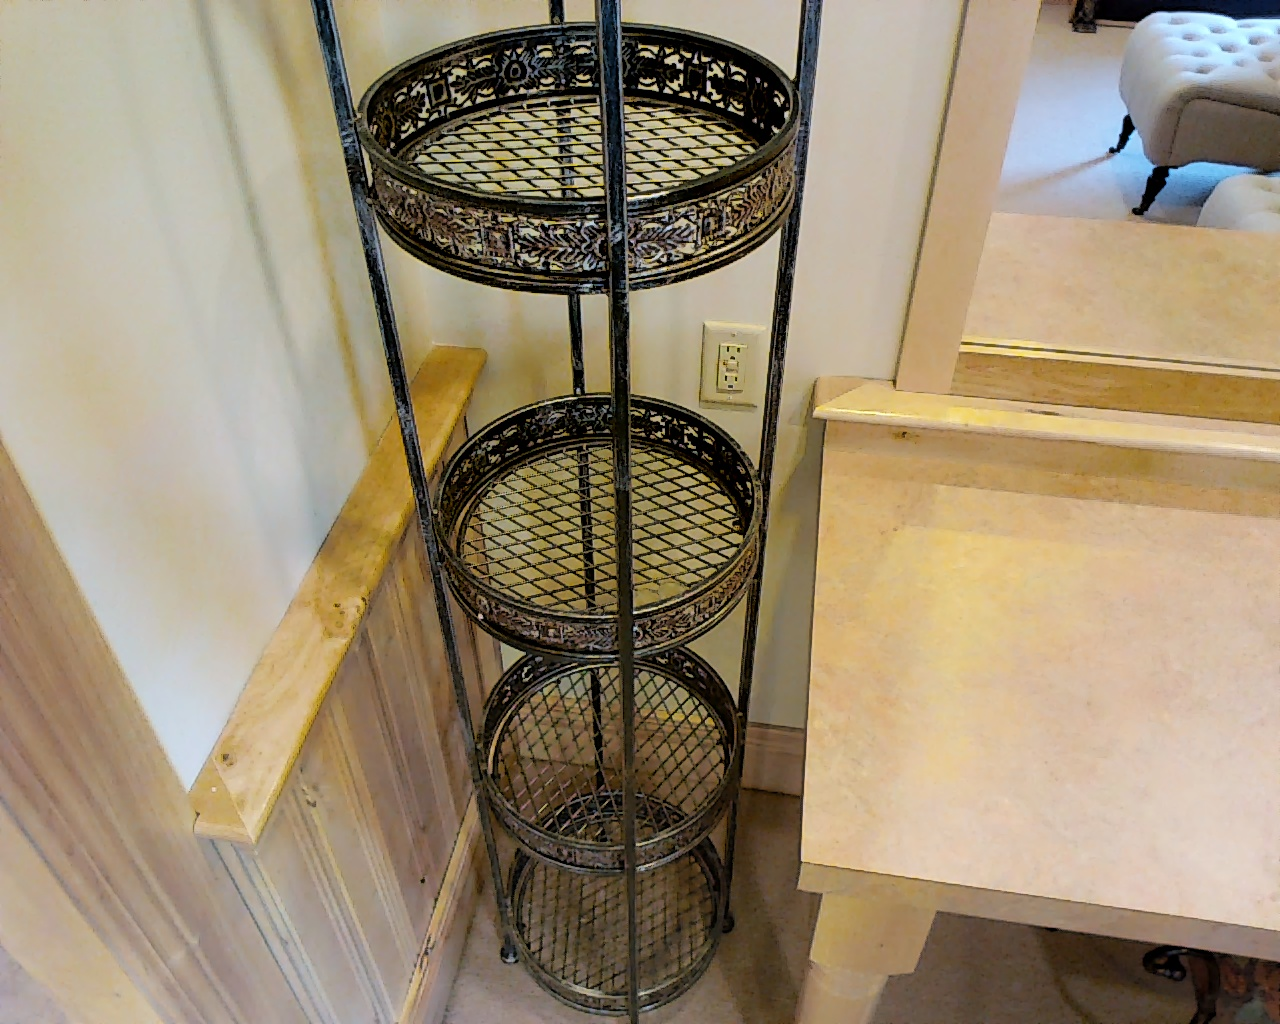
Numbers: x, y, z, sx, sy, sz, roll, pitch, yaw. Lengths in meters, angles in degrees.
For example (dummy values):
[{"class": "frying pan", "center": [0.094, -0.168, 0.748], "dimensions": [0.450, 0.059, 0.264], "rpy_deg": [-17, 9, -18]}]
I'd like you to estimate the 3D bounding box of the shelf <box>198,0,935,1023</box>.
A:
[{"class": "shelf", "center": [-0.010, -0.130, 1.070], "dimensions": [0.420, 1.760, 0.490], "rpy_deg": [7, 43, 7]}]
